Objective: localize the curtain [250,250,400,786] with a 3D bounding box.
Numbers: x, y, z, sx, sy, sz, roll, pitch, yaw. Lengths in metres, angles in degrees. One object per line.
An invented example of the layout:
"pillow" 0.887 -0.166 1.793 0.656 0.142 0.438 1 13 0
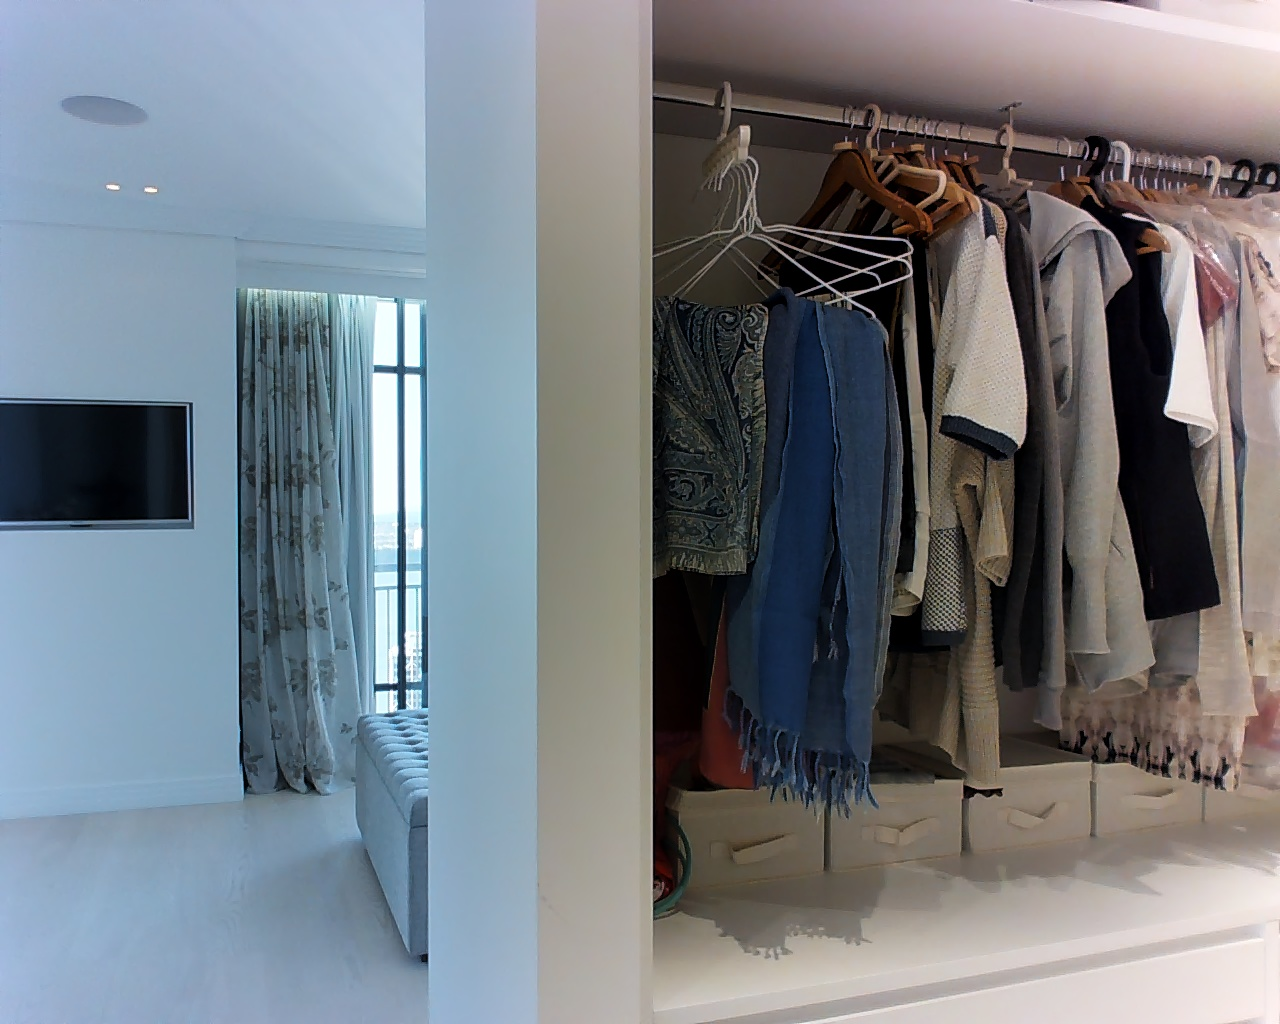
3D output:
"curtain" -1.620 0.030 5.520 0.700 2.591 0.440 0 1 -19
